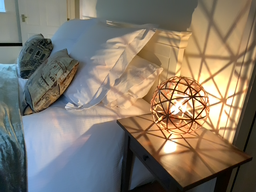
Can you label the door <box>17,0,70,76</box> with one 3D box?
[{"bbox_3d":[-1.360,-1.260,3.440,0.760,1.880,0.050,3,22,-4],"label":"door"}]
